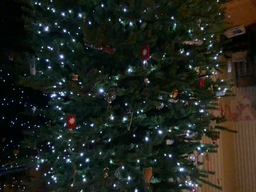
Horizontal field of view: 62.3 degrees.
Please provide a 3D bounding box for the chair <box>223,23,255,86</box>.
[{"bbox_3d":[1.800,-0.630,3.410,0.340,0.870,0.420,-6,173,39],"label":"chair"}]

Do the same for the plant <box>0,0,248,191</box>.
[{"bbox_3d":[-0.110,0.270,1.980,1.780,2.970,1.560,-6,172,41],"label":"plant"}]
